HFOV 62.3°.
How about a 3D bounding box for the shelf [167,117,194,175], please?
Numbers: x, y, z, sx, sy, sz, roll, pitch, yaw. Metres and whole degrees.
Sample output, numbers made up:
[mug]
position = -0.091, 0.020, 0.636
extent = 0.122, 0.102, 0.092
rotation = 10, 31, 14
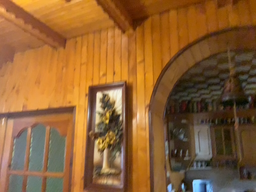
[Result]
[shelf]
position = 0.880, 0.820, 3.550
extent = 0.340, 0.890, 0.300
rotation = -6, -15, 24
